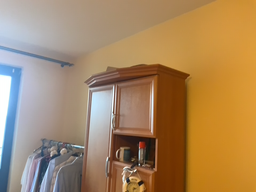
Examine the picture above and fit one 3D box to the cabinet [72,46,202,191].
[{"bbox_3d":[0.010,0.510,1.660,0.430,1.500,0.980,9,-10,-40],"label":"cabinet"}]
